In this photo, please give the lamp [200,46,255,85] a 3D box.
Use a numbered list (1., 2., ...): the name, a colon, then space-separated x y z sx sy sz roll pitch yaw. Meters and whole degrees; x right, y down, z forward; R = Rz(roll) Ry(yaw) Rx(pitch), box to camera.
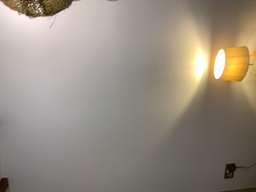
1. lamp: 0.700 -0.220 1.490 0.180 0.300 0.240 -119 29 -71
